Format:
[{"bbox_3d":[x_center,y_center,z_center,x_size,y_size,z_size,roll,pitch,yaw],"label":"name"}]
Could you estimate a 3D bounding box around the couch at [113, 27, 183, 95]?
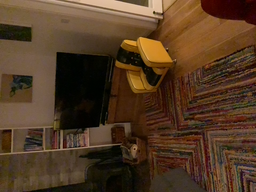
[{"bbox_3d":[0.190,-0.380,2.450,0.540,0.510,0.490,117,145,-43],"label":"couch"}]
